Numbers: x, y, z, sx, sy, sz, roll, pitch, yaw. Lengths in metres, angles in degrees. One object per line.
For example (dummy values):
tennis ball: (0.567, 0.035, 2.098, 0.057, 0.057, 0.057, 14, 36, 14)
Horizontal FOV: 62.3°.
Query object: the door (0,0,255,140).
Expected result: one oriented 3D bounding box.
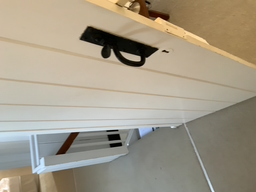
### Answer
door: (-0.050, 0.010, 0.850, 0.810, 1.850, 0.040, -35, 62, 42)
